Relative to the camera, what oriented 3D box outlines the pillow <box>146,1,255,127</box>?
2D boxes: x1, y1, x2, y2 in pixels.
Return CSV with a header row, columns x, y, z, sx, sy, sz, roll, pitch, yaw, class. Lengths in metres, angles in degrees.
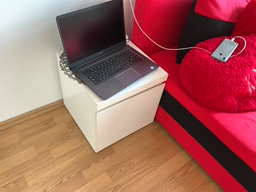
x,y,z,sx,sy,sz,roll,pitch,yaw,class
0.500,-0.220,1.100,0.660,0.250,0.440,-29,57,-31,pillow
